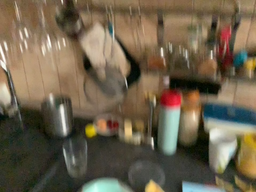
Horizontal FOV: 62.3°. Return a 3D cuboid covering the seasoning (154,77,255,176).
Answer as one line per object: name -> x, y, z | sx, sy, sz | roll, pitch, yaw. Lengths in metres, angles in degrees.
seasoning -> 0.330, 0.100, 0.800 | 0.420, 0.240, 0.230 | 7, 26, 12
